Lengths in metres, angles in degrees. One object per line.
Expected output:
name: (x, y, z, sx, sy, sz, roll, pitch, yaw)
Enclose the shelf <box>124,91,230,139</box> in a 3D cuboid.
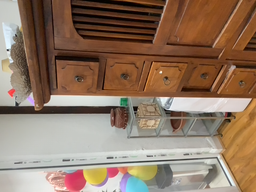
shelf: (0.460, 0.180, 2.100, 0.340, 0.920, 0.300, -104, 20, -45)
